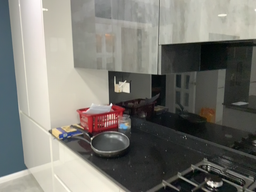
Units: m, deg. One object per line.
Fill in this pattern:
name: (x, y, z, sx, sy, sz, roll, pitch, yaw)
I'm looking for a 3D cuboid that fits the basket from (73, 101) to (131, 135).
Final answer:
basket: (-0.230, 0.180, 1.900, 0.420, 0.170, 0.290, -9, 14, -39)
